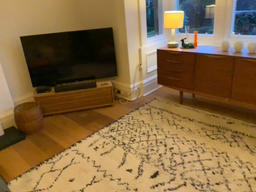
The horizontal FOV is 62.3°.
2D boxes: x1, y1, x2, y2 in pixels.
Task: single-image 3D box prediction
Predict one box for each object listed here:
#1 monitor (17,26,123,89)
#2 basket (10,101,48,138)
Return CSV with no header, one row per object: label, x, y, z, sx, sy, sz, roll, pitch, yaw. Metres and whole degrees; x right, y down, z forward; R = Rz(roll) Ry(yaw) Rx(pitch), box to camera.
monitor,-0.770,-0.550,3.050,1.350,0.770,0.090,-7,24,-7
basket,-1.230,0.280,2.650,0.240,0.310,0.300,18,32,41
